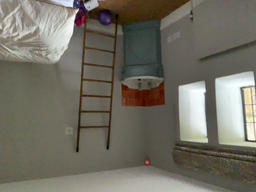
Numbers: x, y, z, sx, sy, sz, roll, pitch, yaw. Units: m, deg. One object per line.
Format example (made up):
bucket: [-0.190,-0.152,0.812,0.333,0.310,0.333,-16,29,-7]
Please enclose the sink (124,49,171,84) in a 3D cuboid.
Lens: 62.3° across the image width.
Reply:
sink: [0.240,-0.360,2.750,0.440,0.310,0.450,3,172,-25]
